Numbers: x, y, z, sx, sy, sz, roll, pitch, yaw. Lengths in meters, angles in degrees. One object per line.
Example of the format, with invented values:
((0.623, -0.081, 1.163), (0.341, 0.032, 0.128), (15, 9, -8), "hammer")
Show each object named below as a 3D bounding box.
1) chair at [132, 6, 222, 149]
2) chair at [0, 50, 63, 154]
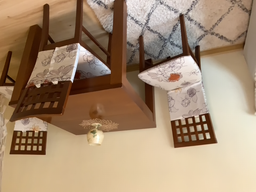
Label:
((0.410, -0.110, 1.840), (0.470, 0.980, 0.620), (-16, 151, 30), "chair")
((-1.040, 0.080, 2.250), (0.400, 0.960, 0.560), (-1, 155, 2), "chair")
